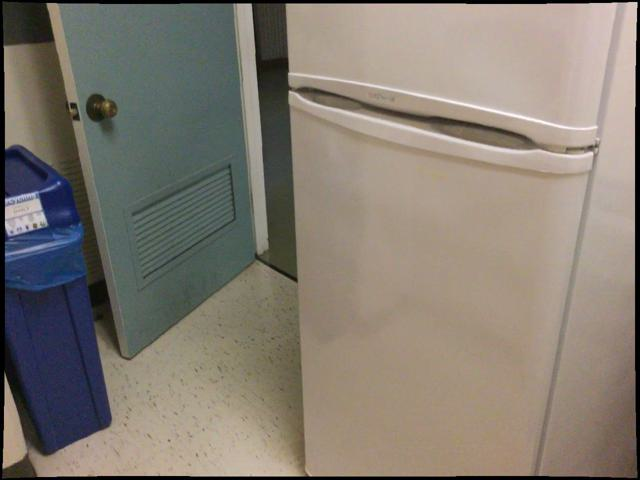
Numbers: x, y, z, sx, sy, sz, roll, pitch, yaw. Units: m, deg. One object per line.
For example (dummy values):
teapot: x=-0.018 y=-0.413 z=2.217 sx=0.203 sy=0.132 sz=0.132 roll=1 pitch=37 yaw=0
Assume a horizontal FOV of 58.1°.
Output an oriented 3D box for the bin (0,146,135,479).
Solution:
bin: x=-0.928 y=0.221 z=1.830 sx=0.290 sy=0.892 sz=0.560 roll=-23 pitch=32 yaw=-35
